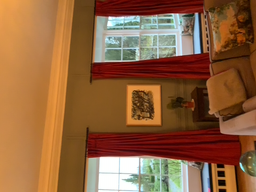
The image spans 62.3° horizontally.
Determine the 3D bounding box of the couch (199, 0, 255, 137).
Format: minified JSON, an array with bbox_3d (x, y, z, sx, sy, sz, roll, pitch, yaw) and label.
[{"bbox_3d":[1.510,-0.860,2.790,1.200,0.730,2.680,76,-165,-76],"label":"couch"}]
